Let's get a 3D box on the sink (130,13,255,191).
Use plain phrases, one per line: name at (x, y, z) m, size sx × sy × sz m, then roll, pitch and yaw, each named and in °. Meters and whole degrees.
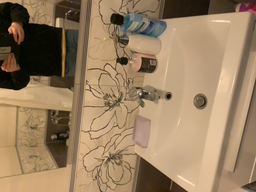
sink at (0.220, 0.030, 0.850) m, size 0.400 × 0.130 × 0.640 m, roll 23°, pitch 108°, yaw 52°
